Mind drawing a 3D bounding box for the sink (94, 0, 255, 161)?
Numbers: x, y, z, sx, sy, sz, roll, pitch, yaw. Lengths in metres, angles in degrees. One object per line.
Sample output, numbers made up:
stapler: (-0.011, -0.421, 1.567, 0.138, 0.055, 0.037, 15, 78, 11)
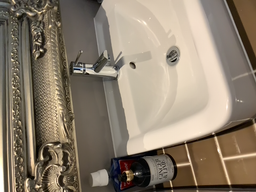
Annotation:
sink: (0.090, -0.130, 0.610, 0.440, 0.160, 0.550, -35, 60, 53)
